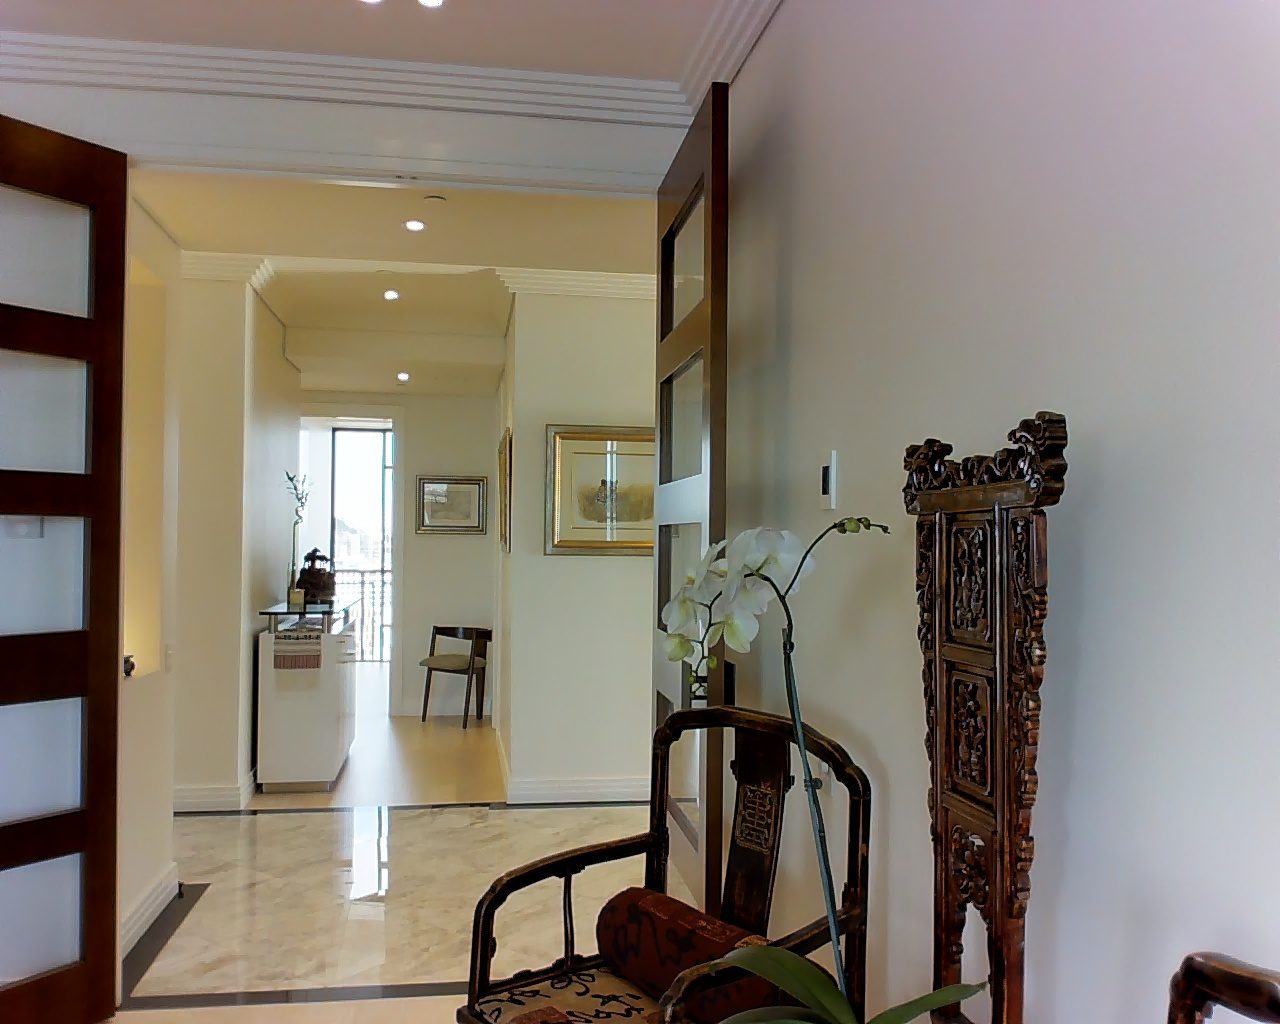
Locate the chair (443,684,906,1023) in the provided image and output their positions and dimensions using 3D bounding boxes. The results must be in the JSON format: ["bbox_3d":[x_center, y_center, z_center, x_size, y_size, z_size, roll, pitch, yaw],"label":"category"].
[{"bbox_3d":[0.040,0.880,1.930,0.540,1.020,0.650,1,-1,-37],"label":"chair"}]
